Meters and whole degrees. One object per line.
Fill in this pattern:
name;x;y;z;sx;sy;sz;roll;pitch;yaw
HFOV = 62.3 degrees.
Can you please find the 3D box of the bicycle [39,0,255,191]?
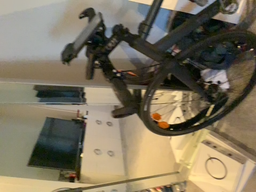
bicycle;0.340;-0.500;0.790;0.570;0.930;1.760;46;129;32
